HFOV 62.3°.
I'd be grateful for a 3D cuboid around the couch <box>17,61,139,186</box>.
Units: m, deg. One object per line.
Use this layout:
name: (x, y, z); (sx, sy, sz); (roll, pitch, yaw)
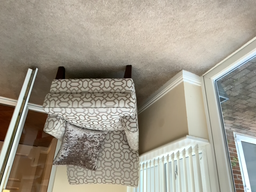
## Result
couch: (-0.310, 0.310, 2.020); (0.790, 0.900, 0.890); (0, 152, 5)
